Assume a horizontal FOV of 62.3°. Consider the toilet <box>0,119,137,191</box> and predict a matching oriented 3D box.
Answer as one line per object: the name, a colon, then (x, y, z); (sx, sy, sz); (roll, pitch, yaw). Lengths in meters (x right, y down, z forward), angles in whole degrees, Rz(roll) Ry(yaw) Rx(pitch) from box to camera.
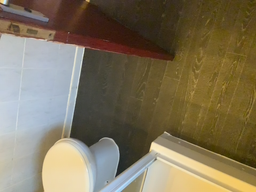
toilet: (-0.380, 0.590, 1.280); (0.430, 0.760, 0.670); (19, 104, 27)
